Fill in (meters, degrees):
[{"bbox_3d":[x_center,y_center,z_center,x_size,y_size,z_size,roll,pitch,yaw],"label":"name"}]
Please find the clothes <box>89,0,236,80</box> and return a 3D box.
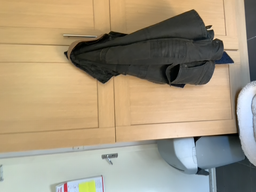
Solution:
[{"bbox_3d":[0.200,-0.310,1.310,0.280,0.840,0.380,164,103,-75],"label":"clothes"}]
